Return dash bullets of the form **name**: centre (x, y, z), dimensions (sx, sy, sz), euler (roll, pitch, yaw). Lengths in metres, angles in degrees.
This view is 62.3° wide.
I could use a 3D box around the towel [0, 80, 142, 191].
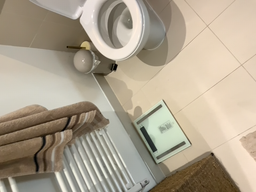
- **towel**: centre (-0.460, 0.140, 0.860), dimensions (0.200, 1.290, 0.360), euler (-48, 66, 29)
